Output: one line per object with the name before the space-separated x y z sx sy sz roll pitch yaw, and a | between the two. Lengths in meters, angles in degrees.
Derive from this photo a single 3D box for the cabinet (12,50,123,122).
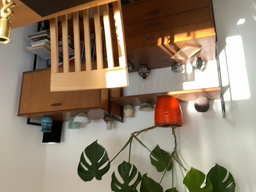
cabinet | -0.520 -0.040 1.920 0.830 0.450 0.460 -6 165 20
